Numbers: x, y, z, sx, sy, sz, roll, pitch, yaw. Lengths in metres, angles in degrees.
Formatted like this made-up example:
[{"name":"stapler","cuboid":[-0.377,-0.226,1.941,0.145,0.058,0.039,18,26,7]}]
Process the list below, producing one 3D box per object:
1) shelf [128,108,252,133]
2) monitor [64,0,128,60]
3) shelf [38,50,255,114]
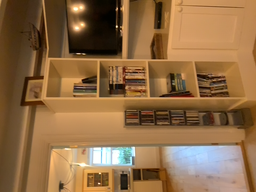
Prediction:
[{"name":"shelf","cuboid":[0.600,0.250,2.130,0.210,1.180,0.200,105,165,-70]},{"name":"monitor","cuboid":[-0.310,-0.850,2.120,0.060,0.570,0.890,-87,7,-72]},{"name":"shelf","cuboid":[0.220,-0.100,2.080,0.470,1.940,0.450,105,165,-70]}]
